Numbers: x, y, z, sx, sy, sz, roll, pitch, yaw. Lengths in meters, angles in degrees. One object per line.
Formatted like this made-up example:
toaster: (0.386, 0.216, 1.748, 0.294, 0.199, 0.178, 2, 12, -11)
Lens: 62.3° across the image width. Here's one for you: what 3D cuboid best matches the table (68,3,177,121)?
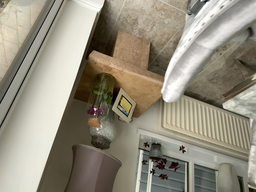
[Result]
table: (-0.060, -0.220, 1.760, 0.650, 0.500, 0.650, 19, 147, -15)
